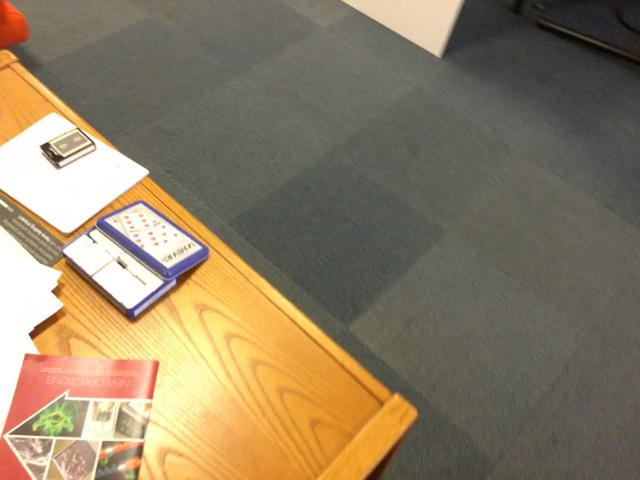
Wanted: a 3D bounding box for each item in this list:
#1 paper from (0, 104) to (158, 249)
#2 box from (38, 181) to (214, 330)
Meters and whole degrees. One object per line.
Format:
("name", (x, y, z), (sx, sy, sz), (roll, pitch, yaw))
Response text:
("paper", (-0.520, -0.140, 1.180), (0.300, 0.040, 0.220), (32, 56, 17))
("box", (-0.350, 0.020, 1.070), (0.220, 0.050, 0.210), (31, 56, 16))
